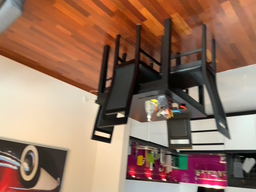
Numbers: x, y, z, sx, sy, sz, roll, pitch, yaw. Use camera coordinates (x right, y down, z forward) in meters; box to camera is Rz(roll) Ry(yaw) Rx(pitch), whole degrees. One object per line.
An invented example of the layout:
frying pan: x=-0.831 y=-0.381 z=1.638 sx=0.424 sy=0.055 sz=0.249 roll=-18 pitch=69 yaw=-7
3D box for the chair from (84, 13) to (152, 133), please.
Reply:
chair: x=-0.060 y=-0.200 z=2.140 sx=0.350 sy=1.050 sz=0.490 roll=-10 pitch=155 yaw=36
